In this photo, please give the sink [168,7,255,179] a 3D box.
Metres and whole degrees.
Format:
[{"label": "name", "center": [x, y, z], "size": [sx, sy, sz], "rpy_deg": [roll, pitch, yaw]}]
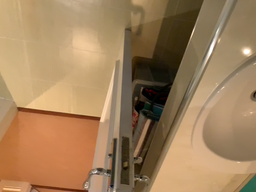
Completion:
[{"label": "sink", "center": [0.470, 0.050, 0.770], "size": [0.480, 0.180, 0.600], "rpy_deg": [7, 129, -5]}]
